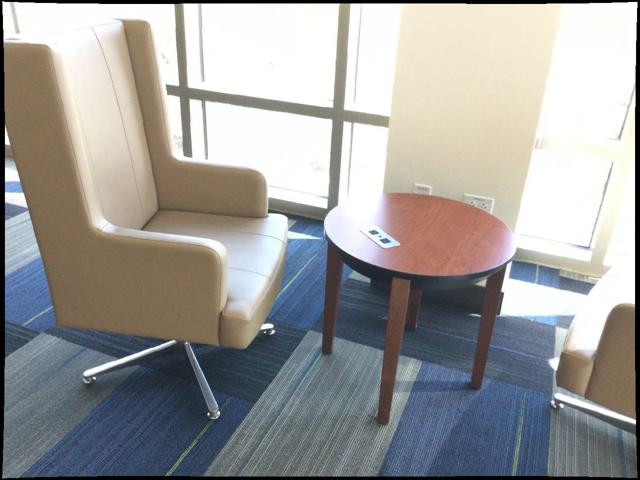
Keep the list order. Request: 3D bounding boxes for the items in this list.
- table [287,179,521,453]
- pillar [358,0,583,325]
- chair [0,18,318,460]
[{"bbox_3d":[0.309,0.211,2.040,0.639,0.571,0.670,11,28,17],"label":"table"},{"bbox_3d":[0.618,-0.491,2.450,0.679,1.473,0.630,11,28,17],"label":"pillar"},{"bbox_3d":[-0.449,-0.050,1.890,0.748,1.162,0.770,5,27,7],"label":"chair"}]
